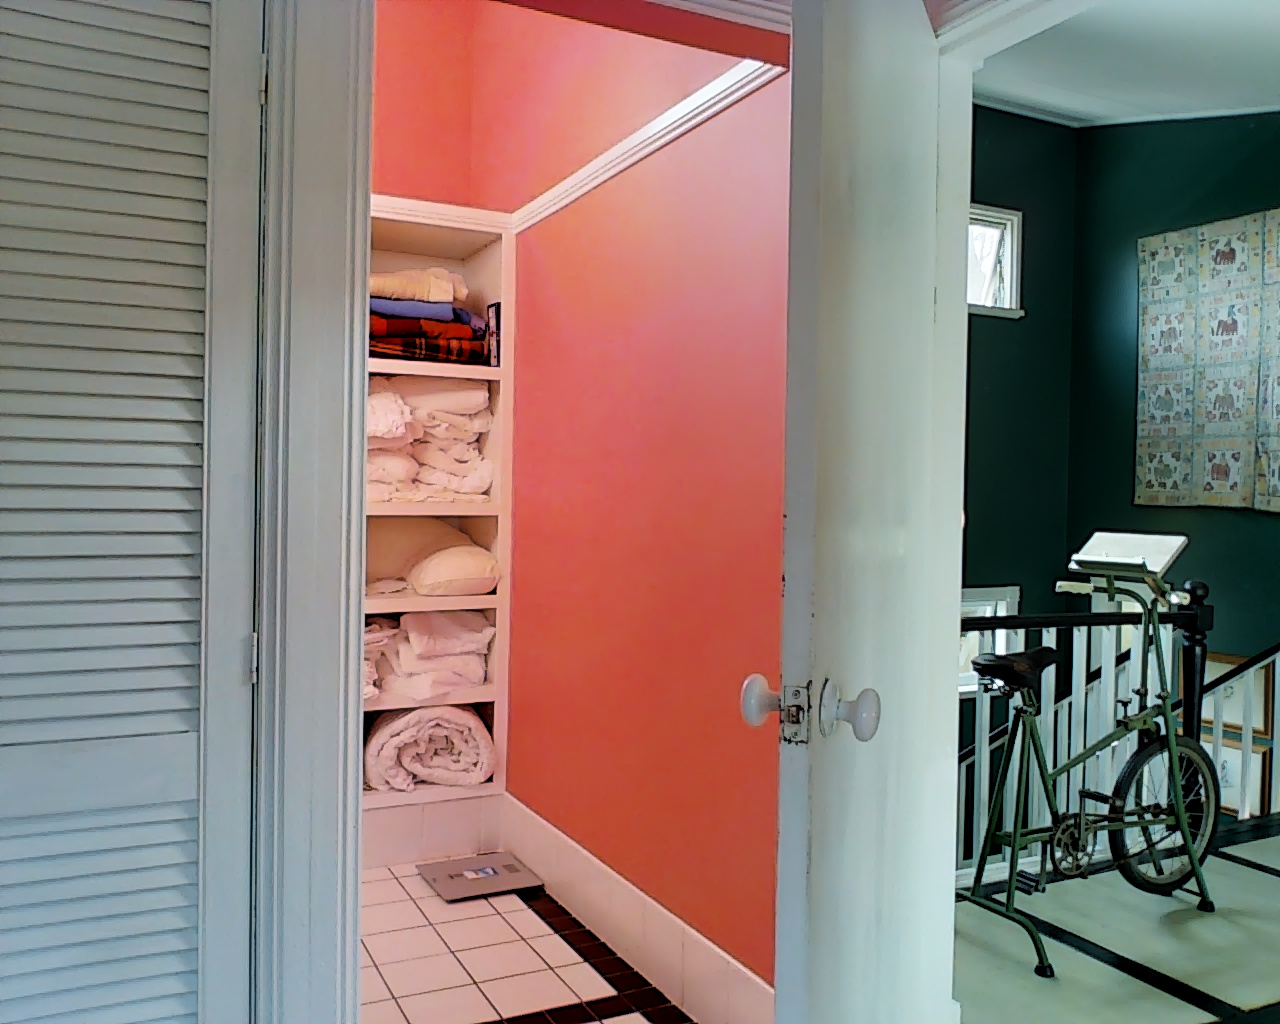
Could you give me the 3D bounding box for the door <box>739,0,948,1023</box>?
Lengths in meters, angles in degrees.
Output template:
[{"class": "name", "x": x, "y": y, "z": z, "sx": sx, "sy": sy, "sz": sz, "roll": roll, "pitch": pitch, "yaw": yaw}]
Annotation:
[{"class": "door", "x": 0.320, "y": 0.200, "z": 1.520, "sx": 0.090, "sy": 2.101, "sz": 0.850, "roll": 1, "pitch": 0, "yaw": 23}]
